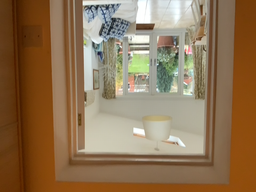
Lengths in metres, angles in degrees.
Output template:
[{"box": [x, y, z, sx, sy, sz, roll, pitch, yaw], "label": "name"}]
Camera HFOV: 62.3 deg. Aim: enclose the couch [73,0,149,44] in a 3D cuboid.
[{"box": [-0.160, -1.470, 3.730, 0.990, 0.740, 2.060, 1, -176, 3], "label": "couch"}]
